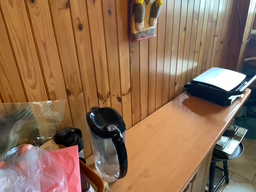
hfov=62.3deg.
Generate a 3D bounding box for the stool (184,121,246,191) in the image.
[{"bbox_3d":[0.640,0.480,1.580,0.260,0.420,0.330,22,37,36],"label":"stool"}]
